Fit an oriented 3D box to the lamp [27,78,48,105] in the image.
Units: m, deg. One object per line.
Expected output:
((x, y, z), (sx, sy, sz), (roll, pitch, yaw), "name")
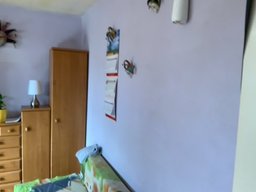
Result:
((-1.260, -0.060, 2.940), (0.260, 0.350, 0.250), (1, 5, -25), "lamp")
